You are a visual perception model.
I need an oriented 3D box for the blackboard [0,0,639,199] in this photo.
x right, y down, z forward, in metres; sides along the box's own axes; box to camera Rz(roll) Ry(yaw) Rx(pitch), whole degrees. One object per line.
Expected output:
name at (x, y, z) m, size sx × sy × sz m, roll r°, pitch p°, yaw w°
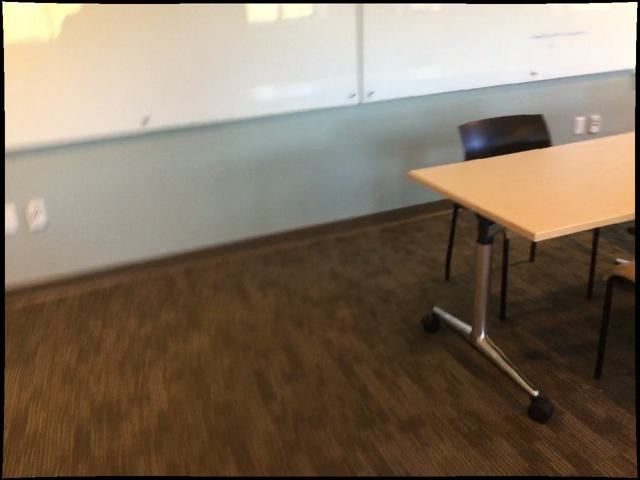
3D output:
blackboard at (0.598, -1.394, 3.330) m, size 5.269 × 1.313 × 0.240 m, roll -14°, pitch 25°, yaw -17°
